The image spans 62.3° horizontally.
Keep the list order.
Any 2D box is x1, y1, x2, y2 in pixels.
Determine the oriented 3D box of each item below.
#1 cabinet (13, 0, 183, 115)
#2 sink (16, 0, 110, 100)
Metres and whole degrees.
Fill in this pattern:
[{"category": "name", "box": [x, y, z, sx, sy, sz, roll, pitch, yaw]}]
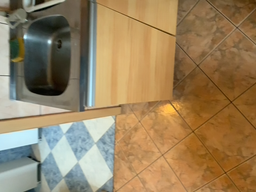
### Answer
[{"category": "cabinet", "box": [-0.110, -0.360, 1.240, 0.530, 0.840, 0.800, 4, 95, 37]}, {"category": "sink", "box": [-0.320, -0.190, 0.990, 0.460, 0.180, 0.380, 4, 95, 37]}]
